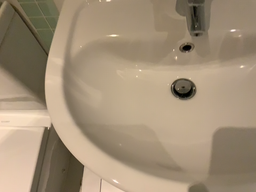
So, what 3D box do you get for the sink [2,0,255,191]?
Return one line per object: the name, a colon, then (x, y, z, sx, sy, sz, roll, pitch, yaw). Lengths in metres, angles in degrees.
sink: (0.130, -0.010, 0.470, 0.620, 0.170, 0.470, 0, 64, 5)
